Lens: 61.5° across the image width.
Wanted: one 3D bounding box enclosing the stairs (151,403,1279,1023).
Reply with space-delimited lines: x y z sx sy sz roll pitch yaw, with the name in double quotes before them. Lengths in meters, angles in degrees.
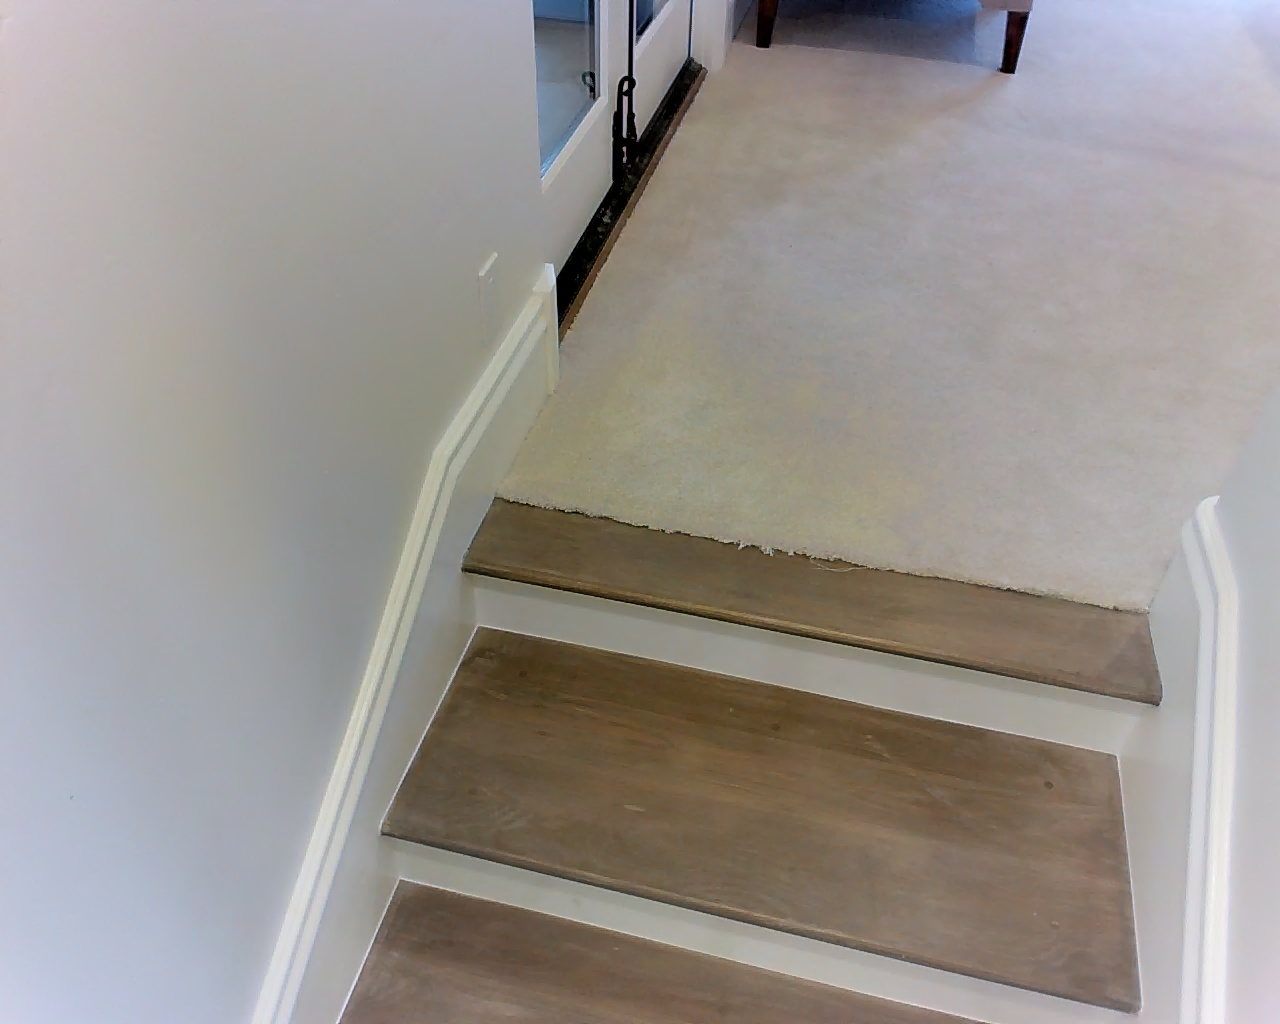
"stairs" 0.190 0.490 1.520 1.120 0.620 1.060 10 42 9
